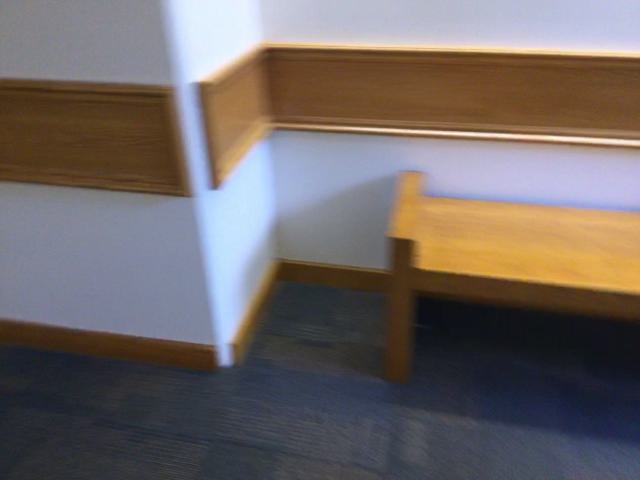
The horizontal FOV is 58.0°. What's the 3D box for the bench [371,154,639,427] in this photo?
[{"bbox_3d":[1.150,0.180,1.700,1.910,0.540,0.570,7,32,15],"label":"bench"}]
